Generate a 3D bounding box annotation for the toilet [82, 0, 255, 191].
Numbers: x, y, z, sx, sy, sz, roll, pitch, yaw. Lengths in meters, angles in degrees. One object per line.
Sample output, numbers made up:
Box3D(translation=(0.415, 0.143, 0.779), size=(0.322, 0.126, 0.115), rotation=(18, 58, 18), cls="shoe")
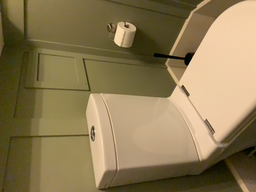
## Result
Box3D(translation=(0.320, -0.020, 0.820), size=(0.390, 0.840, 0.670), rotation=(-110, 32, -42), cls="toilet")
